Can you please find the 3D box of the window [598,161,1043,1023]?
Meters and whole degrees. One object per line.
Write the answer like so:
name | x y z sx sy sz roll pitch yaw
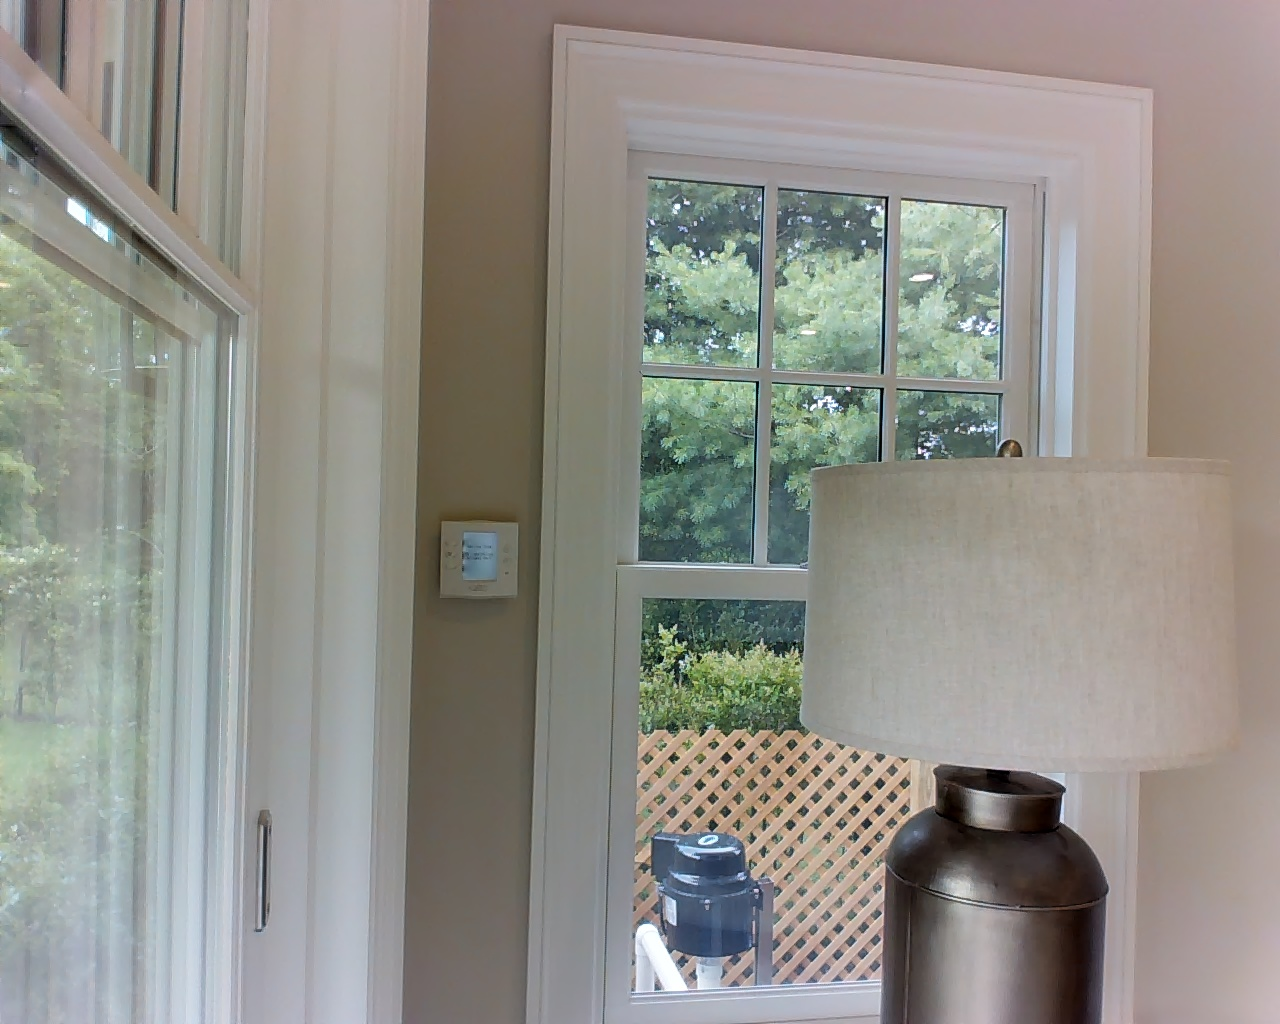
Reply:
window | 0.320 0.170 1.860 0.740 1.480 0.050 2 0 -9

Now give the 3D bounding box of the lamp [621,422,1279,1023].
lamp | 0.430 0.360 1.290 0.640 0.850 0.660 2 0 -32
